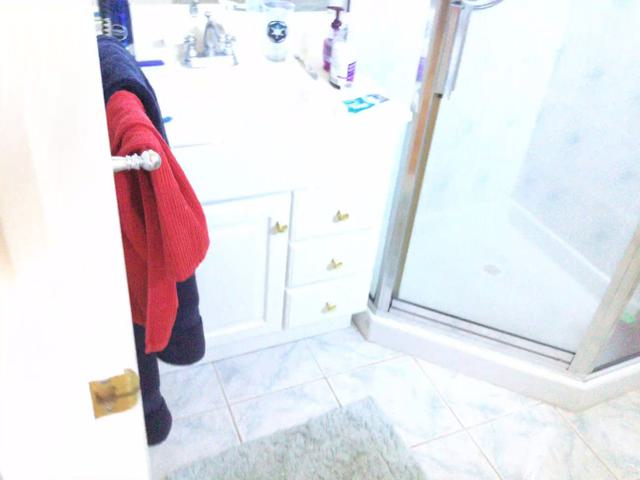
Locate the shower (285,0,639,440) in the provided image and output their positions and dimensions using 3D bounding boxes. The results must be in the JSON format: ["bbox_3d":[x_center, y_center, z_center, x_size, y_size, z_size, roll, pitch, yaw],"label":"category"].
[{"bbox_3d":[0.640,-0.570,1.590,1.080,1.950,0.790,18,36,15],"label":"shower"}]

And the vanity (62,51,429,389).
[{"bbox_3d":[-0.220,-0.080,1.610,0.800,0.760,0.390,-8,37,-23],"label":"vanity"}]
